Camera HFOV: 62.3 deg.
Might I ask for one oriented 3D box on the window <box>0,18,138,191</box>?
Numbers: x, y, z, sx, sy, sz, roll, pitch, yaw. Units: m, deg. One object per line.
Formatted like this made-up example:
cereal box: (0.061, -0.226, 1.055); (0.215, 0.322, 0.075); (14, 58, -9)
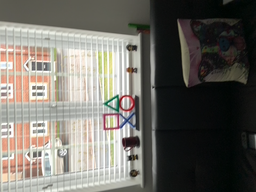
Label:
window: (-0.550, 0.120, 1.630); (0.150, 1.300, 1.280); (-173, 83, -66)
